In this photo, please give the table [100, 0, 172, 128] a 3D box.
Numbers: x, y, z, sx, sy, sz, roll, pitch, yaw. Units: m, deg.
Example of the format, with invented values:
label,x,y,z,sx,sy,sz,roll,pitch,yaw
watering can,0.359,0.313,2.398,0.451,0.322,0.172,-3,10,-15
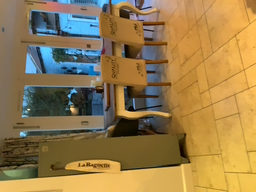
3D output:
label,x,y,z,sx,sy,sz,roll,pitch,yaw
table,0.030,-0.490,3.380,0.870,0.810,1.840,131,138,-67
